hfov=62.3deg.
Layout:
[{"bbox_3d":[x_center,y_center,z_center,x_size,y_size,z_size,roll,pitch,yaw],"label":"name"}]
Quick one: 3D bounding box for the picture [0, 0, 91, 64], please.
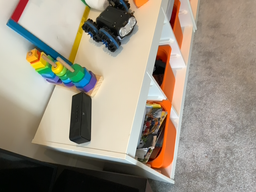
[{"bbox_3d":[-0.320,-0.390,0.920,0.060,0.300,0.390,1,63,26],"label":"picture"}]
